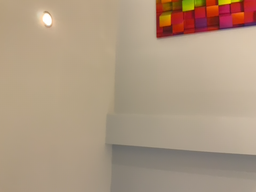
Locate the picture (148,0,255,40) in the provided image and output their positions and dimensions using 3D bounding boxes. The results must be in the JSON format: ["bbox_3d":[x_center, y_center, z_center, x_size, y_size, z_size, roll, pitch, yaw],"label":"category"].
[{"bbox_3d":[0.610,-1.150,1.800,0.030,0.860,1.310,16,-105,-71],"label":"picture"}]
